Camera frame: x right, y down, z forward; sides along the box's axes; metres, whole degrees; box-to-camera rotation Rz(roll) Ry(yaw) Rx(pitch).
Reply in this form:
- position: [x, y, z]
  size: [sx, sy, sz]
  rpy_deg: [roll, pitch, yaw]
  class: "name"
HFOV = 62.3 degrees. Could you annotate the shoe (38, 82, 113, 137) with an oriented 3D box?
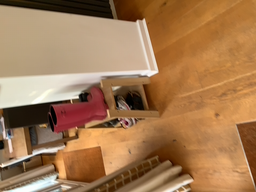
- position: [-0.430, 0.110, 1.720]
  size: [0.380, 0.420, 0.320]
  rpy_deg: [-23, 79, 50]
  class: "shoe"
